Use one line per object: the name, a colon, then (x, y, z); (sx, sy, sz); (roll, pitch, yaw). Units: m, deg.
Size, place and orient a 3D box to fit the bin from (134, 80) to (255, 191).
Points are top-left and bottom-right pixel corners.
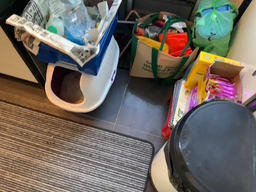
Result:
bin: (0.220, 0.270, 0.920); (0.260, 0.720, 0.310); (15, 65, 4)
